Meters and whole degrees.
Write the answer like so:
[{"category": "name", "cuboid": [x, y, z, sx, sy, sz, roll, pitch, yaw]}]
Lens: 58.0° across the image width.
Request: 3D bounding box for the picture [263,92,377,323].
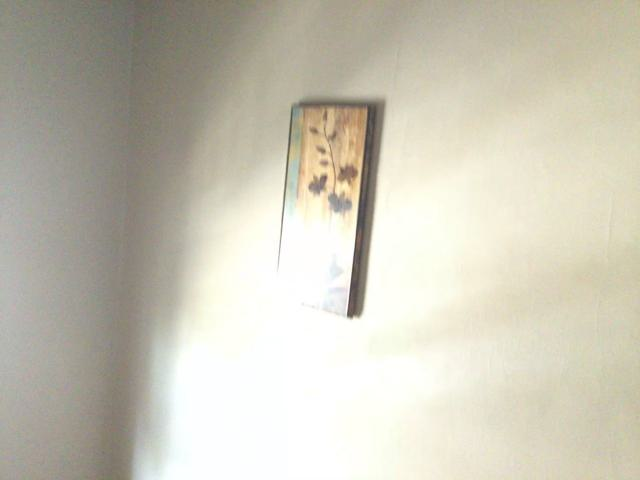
[{"category": "picture", "cuboid": [-0.010, -0.120, 2.270, 0.490, 0.830, 0.090, 2, 4, 40]}]
